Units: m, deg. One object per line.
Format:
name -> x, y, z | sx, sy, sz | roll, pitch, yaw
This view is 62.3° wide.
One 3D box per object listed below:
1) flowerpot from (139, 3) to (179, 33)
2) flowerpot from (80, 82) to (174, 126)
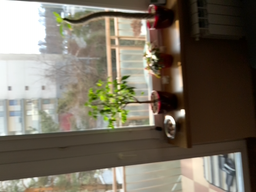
flowerpot -> 0.240, -0.620, 1.690 | 0.210, 0.230, 0.150 | 172, 89, -72
flowerpot -> -0.010, 0.050, 1.610 | 0.210, 0.670, 0.280 | 176, 92, -73
